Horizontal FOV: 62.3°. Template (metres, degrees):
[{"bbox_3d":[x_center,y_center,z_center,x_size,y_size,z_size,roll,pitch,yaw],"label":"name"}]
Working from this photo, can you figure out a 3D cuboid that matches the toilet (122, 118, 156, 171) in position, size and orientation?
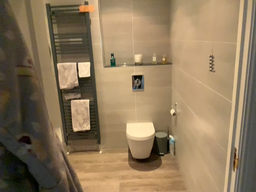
[{"bbox_3d":[0.140,0.590,2.690,0.370,0.450,0.510,-2,16,2],"label":"toilet"}]
